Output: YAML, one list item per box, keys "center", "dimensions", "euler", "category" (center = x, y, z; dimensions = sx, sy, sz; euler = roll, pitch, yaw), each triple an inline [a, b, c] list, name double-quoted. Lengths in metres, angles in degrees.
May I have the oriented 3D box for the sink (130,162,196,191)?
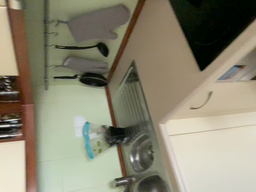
- center: [0.190, 0.590, 1.100]
  dimensions: [0.400, 0.160, 0.380]
  euler: [124, 138, -54]
  category: "sink"
